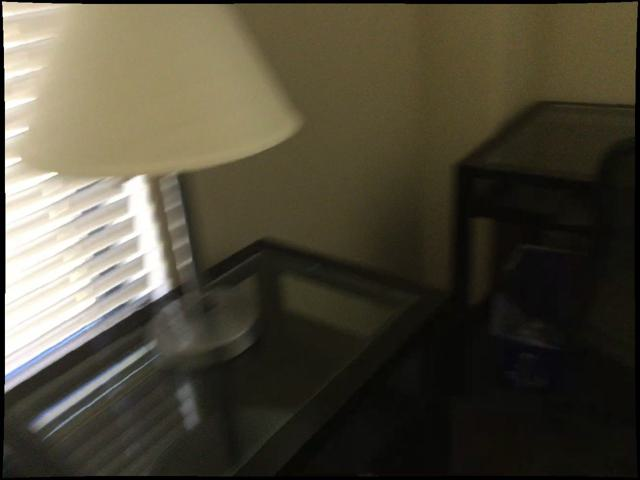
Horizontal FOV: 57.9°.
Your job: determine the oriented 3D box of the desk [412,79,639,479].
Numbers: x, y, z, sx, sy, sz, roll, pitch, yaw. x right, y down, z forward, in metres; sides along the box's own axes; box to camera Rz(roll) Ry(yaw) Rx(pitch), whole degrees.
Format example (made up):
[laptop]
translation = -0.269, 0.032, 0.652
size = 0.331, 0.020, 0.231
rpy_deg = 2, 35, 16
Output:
[desk]
translation = 1.079, 0.100, 1.610
size = 1.309, 0.811, 0.920
rpy_deg = 14, 35, 36
